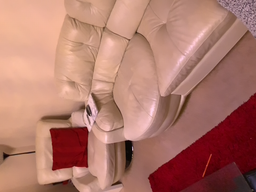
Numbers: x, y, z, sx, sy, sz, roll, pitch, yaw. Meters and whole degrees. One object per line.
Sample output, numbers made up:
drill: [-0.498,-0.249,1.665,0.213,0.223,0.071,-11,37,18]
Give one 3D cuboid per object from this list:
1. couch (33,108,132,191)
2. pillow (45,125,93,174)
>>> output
couch: [-0.580,0.640,2.610,0.770,0.960,0.920,-9,83,58]
pillow: [-0.690,0.630,2.520,0.090,0.410,0.460,148,143,-79]
